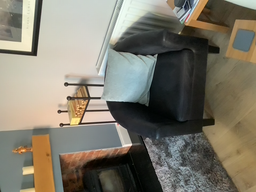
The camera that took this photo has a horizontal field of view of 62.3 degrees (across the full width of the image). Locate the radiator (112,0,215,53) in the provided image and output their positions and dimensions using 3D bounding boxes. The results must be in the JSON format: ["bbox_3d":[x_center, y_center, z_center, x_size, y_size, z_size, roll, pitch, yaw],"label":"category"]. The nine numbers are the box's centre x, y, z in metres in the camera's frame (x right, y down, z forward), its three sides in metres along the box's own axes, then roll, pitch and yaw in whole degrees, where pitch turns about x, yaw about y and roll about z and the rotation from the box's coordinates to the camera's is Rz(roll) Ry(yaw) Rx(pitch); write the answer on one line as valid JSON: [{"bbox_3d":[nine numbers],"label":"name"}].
[{"bbox_3d":[0.320,-0.730,1.600,0.780,0.670,0.160,-64,38,39],"label":"radiator"}]
